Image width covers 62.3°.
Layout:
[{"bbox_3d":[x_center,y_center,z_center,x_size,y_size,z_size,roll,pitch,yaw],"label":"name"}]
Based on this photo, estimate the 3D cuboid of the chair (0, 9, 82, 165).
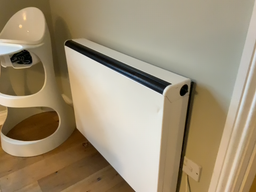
[{"bbox_3d":[-0.680,-0.100,1.420,0.520,0.840,0.660,1,28,2],"label":"chair"}]
